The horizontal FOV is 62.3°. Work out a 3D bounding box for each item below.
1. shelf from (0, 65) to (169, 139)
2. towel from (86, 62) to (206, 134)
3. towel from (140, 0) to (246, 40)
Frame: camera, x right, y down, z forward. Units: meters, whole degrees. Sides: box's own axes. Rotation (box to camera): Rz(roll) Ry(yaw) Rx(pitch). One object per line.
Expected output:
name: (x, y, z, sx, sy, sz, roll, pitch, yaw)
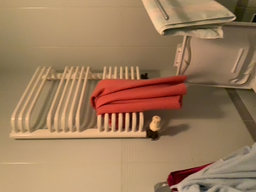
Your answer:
shelf: (-0.230, 0.010, 1.240, 0.500, 0.840, 0.120, -92, 3, -49)
towel: (0.080, 0.000, 1.190, 0.380, 0.560, 0.200, -92, 3, -49)
towel: (0.270, -0.430, 1.030, 0.390, 0.390, 0.140, -92, 2, -47)
